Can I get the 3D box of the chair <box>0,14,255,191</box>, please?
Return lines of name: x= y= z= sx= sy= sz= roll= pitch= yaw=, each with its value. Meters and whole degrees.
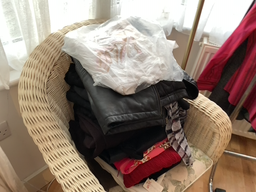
chair: x=-0.010 y=0.210 z=0.980 sx=0.690 sy=0.830 sz=0.650 roll=-28 pitch=53 yaw=-34
